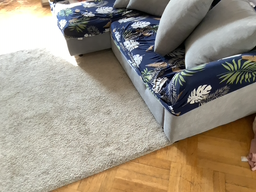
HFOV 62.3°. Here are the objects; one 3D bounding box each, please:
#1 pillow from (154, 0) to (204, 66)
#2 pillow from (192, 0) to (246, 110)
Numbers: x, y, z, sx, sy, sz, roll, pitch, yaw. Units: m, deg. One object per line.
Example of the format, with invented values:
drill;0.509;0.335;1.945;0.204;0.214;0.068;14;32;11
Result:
pillow;0.440;-0.680;1.780;0.310;0.520;0.700;3;48;15
pillow;0.640;-0.390;1.530;0.210;0.530;0.800;-11;55;25
